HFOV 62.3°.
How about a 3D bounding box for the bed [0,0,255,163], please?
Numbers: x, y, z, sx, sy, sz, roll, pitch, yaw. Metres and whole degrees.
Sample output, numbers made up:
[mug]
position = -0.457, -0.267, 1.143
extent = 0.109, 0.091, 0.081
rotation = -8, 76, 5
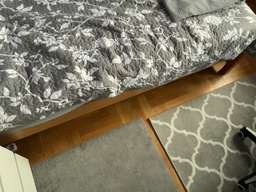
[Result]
[bed]
position = -0.390, -0.480, 1.440
extent = 2.070, 0.520, 1.280
rotation = -21, 69, -15
